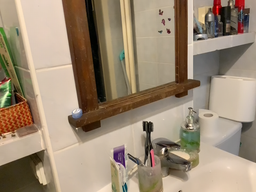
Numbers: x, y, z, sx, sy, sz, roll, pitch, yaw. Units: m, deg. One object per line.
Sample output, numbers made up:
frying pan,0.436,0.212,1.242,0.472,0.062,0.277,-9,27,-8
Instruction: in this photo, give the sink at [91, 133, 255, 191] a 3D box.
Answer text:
sink,0.200,0.320,0.600,0.510,0.150,0.380,-17,21,-34
